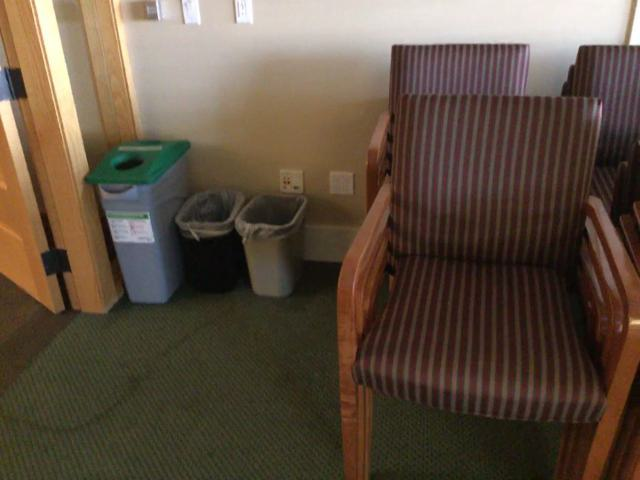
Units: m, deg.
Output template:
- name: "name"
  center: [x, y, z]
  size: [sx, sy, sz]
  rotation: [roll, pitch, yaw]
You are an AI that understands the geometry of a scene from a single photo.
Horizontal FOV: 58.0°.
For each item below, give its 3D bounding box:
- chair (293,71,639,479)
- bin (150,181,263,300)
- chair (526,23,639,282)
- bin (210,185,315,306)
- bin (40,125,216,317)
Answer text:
- name: "chair"
  center: [0.420, 0.200, 1.480]
  size: [0.730, 1.090, 0.780]
  rotation: [5, 27, 13]
- name: "bin"
  center: [-0.500, -0.010, 2.660]
  size: [0.330, 0.380, 0.420]
  rotation: [5, 27, 13]
- name: "chair"
  center: [1.110, -0.340, 1.950]
  size: [0.660, 0.660, 0.810]
  rotation: [5, 27, 13]
- name: "bin"
  center: [-0.240, 0.010, 2.620]
  size: [0.330, 0.380, 0.410]
  rotation: [5, 27, 13]
- name: "bin"
  center: [-0.810, -0.110, 2.590]
  size: [0.420, 0.660, 0.560]
  rotation: [5, 27, 13]
